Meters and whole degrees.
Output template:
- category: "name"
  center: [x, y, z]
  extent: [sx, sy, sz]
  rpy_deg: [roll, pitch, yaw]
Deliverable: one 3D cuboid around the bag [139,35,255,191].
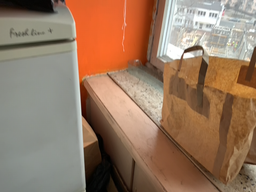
- category: "bag"
  center: [0.260, 0.020, 0.670]
  extent: [0.270, 0.300, 0.360]
  rpy_deg: [-13, 37, -26]
